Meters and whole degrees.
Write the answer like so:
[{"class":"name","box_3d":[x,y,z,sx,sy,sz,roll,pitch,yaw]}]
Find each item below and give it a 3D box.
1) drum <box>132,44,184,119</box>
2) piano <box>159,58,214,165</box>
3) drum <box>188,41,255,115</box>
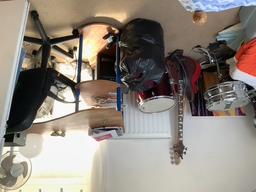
[{"class":"drum","box_3d":[0.270,-0.130,2.190,0.420,0.610,0.500,-1,159,-1]},{"class":"piano","box_3d":[0.610,0.150,2.360,0.420,1.160,0.240,-1,159,0]},{"class":"drum","box_3d":[0.960,-0.170,2.130,0.520,0.620,0.420,-1,159,-2]}]
